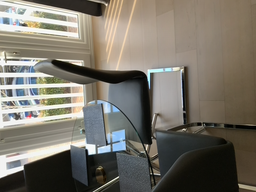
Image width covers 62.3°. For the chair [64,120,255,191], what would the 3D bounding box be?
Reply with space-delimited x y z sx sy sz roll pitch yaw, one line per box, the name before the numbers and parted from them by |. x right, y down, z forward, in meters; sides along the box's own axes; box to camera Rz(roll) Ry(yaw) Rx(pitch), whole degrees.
chair | 0.300 0.390 1.060 0.570 1.020 0.400 -7 88 51

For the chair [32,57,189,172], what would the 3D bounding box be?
chair | -0.060 0.050 1.480 0.440 1.010 0.540 5 97 50

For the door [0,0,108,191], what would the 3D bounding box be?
door | -1.190 -0.050 2.090 0.070 2.140 2.040 -6 89 51

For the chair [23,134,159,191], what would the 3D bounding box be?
chair | -0.280 0.620 1.810 0.460 1.000 0.380 -21 78 49
